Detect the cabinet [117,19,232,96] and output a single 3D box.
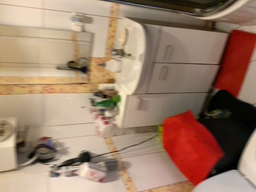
[{"bbox_3d":[0.370,-0.300,1.750,0.310,0.790,0.500,-132,47,-54],"label":"cabinet"}]
